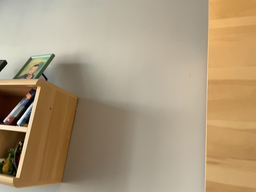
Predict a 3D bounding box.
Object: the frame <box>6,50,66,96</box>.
[{"bbox_3d":[-0.450,-0.110,1.050,0.200,0.180,0.130,2,-16,20],"label":"frame"}]
